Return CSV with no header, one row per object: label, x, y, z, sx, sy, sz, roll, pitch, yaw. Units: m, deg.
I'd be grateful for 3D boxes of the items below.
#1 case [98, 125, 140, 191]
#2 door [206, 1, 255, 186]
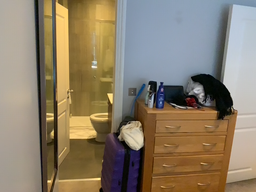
case,-0.120,0.700,2.100,0.310,0.650,0.560,0,12,-12
door,1.310,0.050,2.340,0.760,1.960,0.050,-1,12,-18
